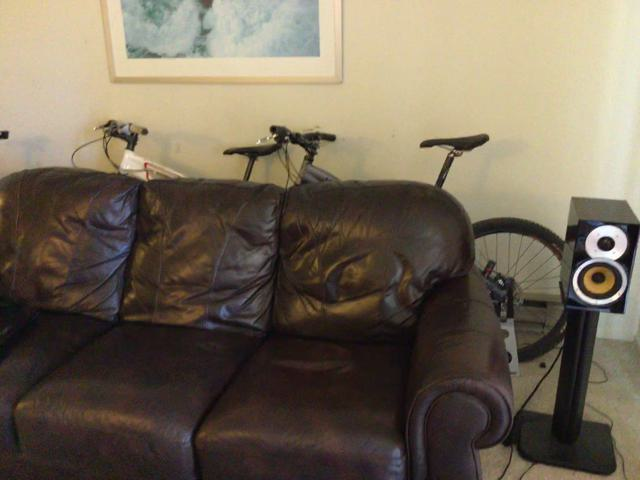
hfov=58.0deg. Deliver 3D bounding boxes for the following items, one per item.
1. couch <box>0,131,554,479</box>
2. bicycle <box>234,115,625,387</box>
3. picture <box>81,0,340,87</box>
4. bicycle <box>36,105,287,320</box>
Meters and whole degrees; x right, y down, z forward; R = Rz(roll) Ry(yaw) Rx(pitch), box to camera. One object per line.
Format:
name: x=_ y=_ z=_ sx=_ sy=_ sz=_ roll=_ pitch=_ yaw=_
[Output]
couch: x=-0.510 y=0.300 z=1.910 sx=2.090 sy=1.010 sz=0.930 roll=8 pitch=19 yaw=8
bicycle: x=0.390 y=0.010 z=2.500 sx=1.420 sy=0.910 sz=0.420 roll=8 pitch=19 yaw=8
picture: x=-0.500 y=-1.160 z=2.570 sx=1.180 sy=0.880 sz=0.120 roll=5 pitch=18 yaw=10
bicycle: x=-0.750 y=-0.150 z=2.790 sx=1.090 sy=0.860 sz=0.300 roll=8 pitch=19 yaw=8
